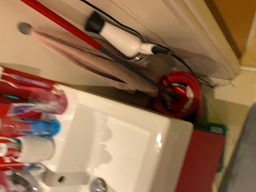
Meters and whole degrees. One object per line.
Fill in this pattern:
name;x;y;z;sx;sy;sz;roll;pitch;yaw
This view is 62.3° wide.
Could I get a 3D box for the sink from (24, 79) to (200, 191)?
sink;-0.110;0.310;0.660;0.450;0.170;0.630;17;89;38
